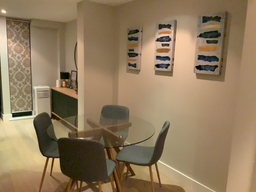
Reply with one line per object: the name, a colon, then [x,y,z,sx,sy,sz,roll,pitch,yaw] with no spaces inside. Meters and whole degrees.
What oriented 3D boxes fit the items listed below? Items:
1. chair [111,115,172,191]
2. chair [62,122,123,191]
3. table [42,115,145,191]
chair: [0.160,0.690,2.430,0.550,0.810,0.440,6,10,19]
chair: [-0.320,0.740,2.050,0.400,0.810,0.550,4,10,10]
table: [-0.340,0.710,2.510,0.970,0.720,0.900,2,9,0]
